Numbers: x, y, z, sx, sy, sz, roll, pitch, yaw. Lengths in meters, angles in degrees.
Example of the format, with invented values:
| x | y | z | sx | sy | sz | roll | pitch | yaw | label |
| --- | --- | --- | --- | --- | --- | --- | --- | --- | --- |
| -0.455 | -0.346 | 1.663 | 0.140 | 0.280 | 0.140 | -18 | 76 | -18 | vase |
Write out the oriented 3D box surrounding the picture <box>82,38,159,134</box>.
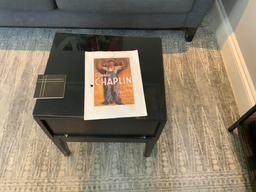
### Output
| x | y | z | sx | sy | sz | roll | pitch | yaw | label |
| --- | --- | --- | --- | --- | --- | --- | --- | --- | --- |
| -0.040 | -0.050 | 0.750 | 0.230 | 0.070 | 0.340 | -4 | 60 | -5 | picture |
